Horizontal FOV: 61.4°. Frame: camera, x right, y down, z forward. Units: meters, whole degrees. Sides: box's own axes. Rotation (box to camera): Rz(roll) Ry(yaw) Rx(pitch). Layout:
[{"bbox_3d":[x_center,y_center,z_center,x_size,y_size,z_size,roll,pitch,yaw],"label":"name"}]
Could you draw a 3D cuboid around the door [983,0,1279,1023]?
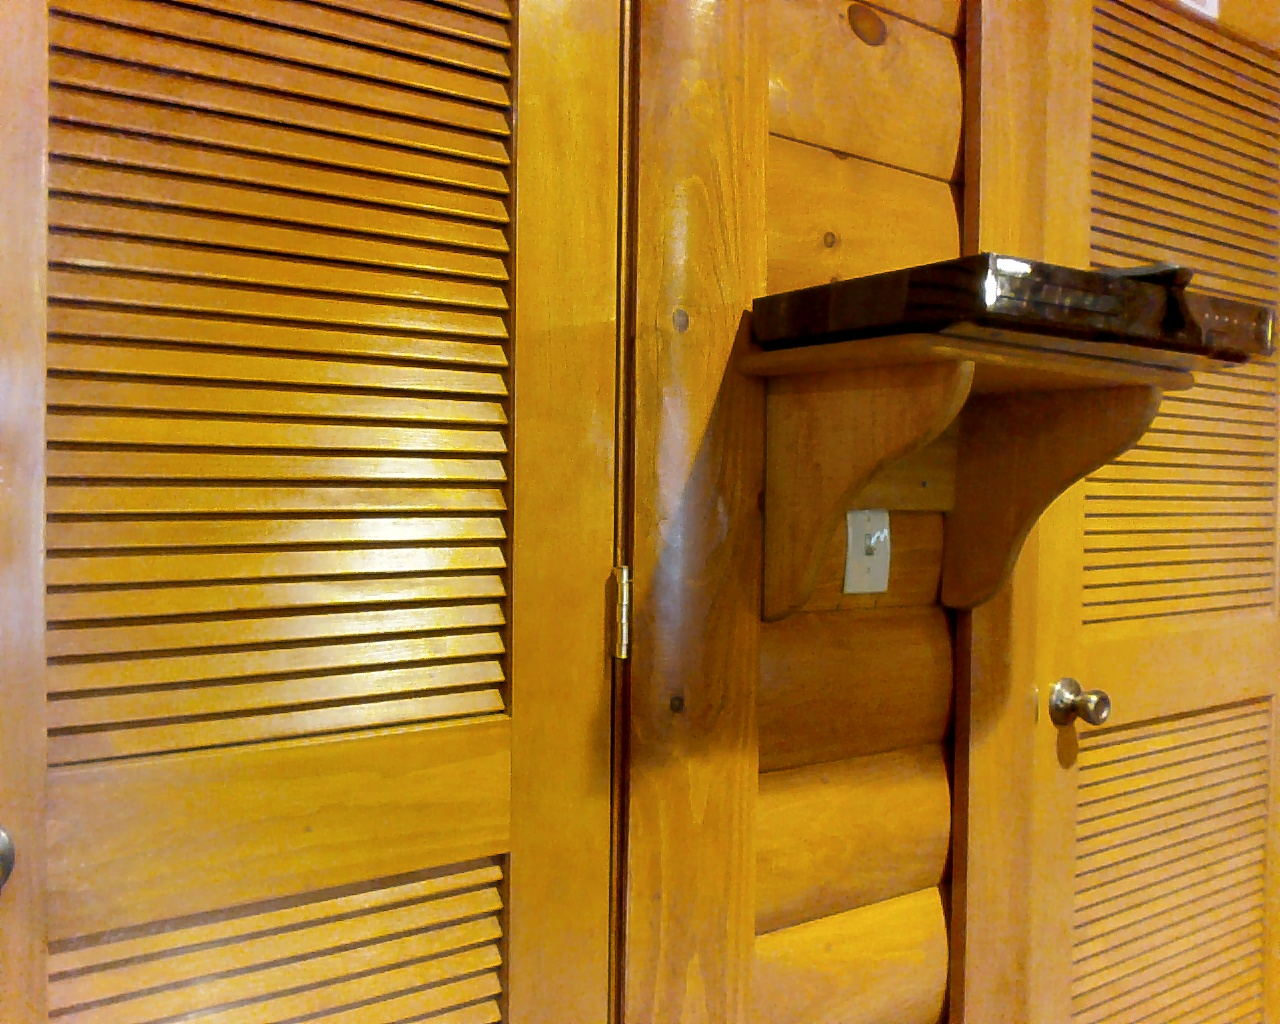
[{"bbox_3d":[0.860,0.100,1.630,0.910,2.131,0.080,0,1,-33],"label":"door"}]
